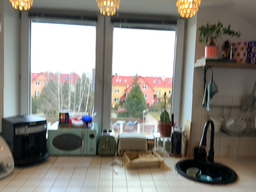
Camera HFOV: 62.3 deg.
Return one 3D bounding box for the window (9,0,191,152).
[{"bbox_3d":[-0.290,-0.200,2.310,1.860,1.590,0.130,2,5,-5],"label":"window"}]
